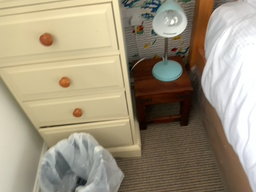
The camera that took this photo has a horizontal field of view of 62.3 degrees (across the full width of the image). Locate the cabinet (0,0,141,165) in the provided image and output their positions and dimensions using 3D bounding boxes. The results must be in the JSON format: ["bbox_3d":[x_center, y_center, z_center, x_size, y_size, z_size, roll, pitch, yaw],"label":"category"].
[{"bbox_3d":[-0.220,-0.220,0.810,0.440,1.080,0.450,-7,46,1],"label":"cabinet"}]

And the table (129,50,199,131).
[{"bbox_3d":[0.170,-0.030,1.130,0.290,0.280,0.290,-7,46,1],"label":"table"}]
